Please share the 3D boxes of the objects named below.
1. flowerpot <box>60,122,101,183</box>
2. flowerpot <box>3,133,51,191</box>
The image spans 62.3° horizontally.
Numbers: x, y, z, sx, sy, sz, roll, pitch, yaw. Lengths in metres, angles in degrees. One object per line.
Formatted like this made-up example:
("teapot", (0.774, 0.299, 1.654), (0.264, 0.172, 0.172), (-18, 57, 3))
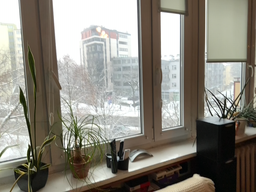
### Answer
("flowerpot", (-0.300, 0.340, 1.330), (0.200, 0.300, 0.170), (-5, 8, -27))
("flowerpot", (-0.590, 0.380, 1.240), (0.210, 0.230, 0.260), (-5, 8, -28))
